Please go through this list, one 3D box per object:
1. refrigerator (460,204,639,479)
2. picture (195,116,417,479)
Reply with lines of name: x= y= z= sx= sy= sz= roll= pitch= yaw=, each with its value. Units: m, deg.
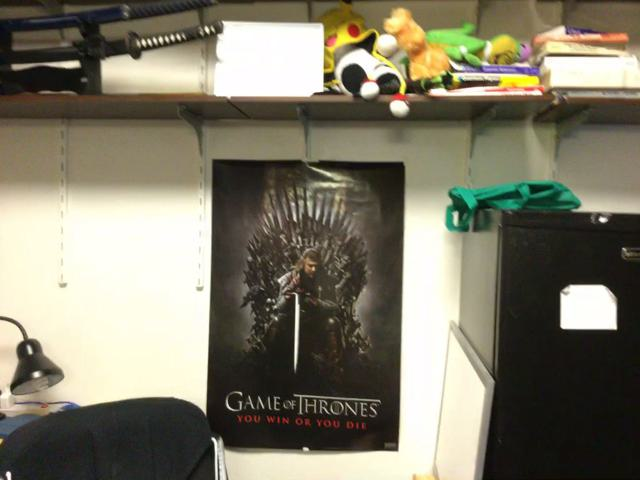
refrigerator: x=0.610 y=0.340 z=1.230 sx=0.550 sy=0.810 sz=0.260 roll=2 pitch=3 yaw=4
picture: x=-0.050 y=0.180 z=1.780 sx=0.640 sy=1.090 sz=0.040 roll=2 pitch=3 yaw=4
